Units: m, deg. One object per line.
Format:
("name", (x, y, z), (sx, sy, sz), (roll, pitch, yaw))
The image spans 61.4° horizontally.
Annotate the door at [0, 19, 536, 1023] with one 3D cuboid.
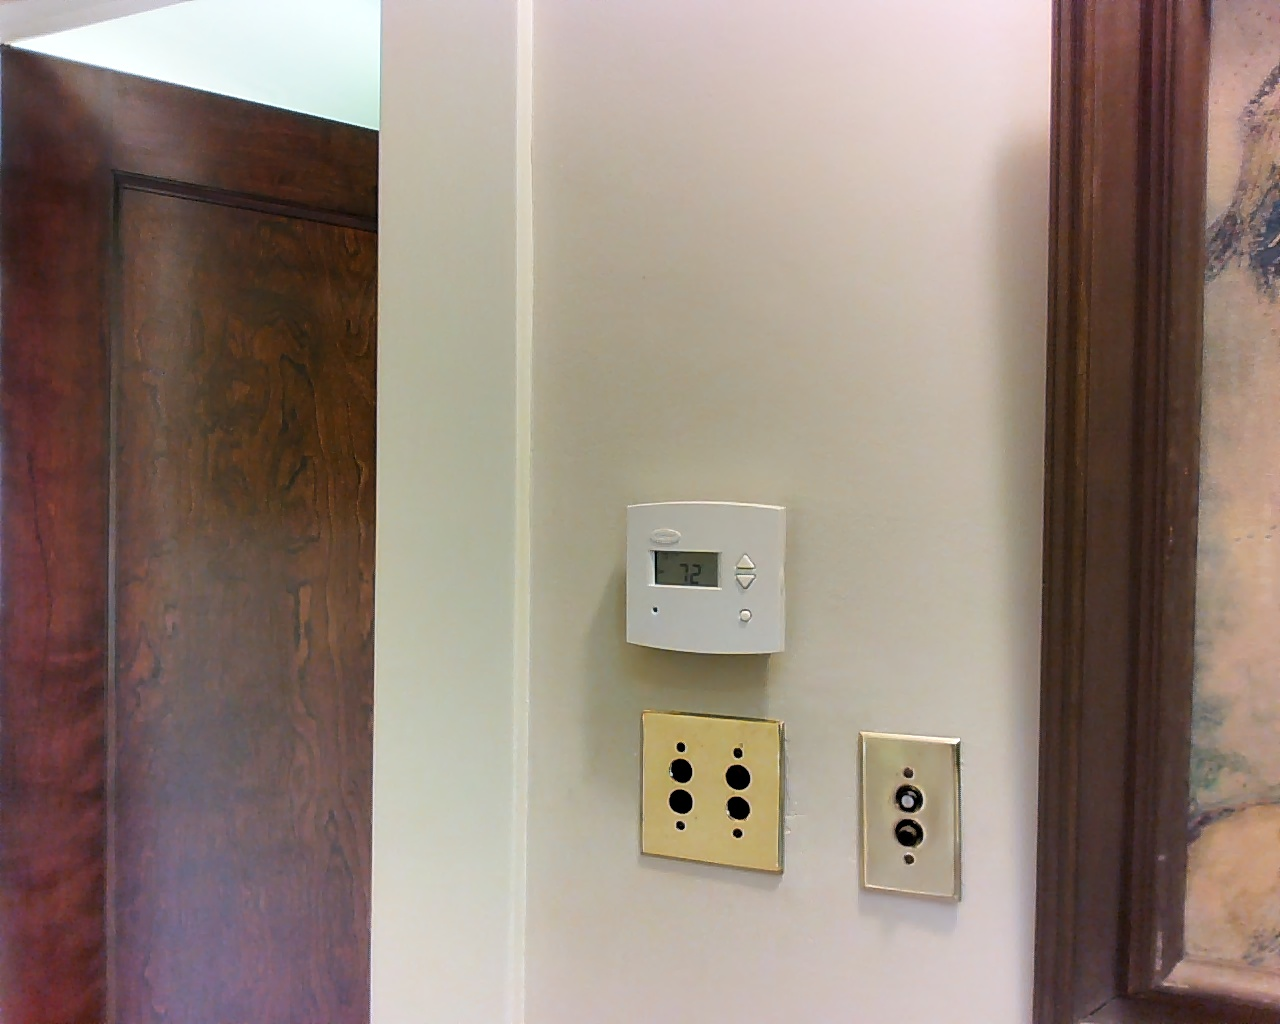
("door", (-0.520, 0.460, 1.600), (0.800, 2.130, 0.070), (1, 0, -39))
